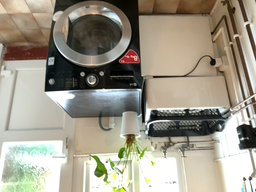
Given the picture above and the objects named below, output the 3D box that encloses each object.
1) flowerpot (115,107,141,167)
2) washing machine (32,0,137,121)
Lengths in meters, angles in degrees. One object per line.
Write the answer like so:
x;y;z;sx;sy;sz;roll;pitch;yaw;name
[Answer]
0.000;0.340;1.710;0.180;0.430;0.280;-2;159;1;flowerpot
-0.250;-0.320;1.710;0.590;0.850;0.810;-2;159;0;washing machine
